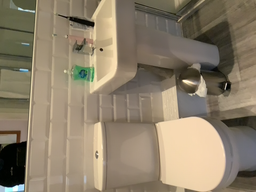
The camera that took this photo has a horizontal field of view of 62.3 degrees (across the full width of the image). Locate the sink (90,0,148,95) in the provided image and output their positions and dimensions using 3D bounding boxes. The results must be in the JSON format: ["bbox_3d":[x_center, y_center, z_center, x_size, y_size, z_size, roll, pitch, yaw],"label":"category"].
[{"bbox_3d":[-0.080,-0.330,1.250,0.420,0.170,0.560,-25,64,61],"label":"sink"}]

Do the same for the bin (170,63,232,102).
[{"bbox_3d":[0.490,-0.080,1.450,0.240,0.300,0.190,-23,66,61],"label":"bin"}]
